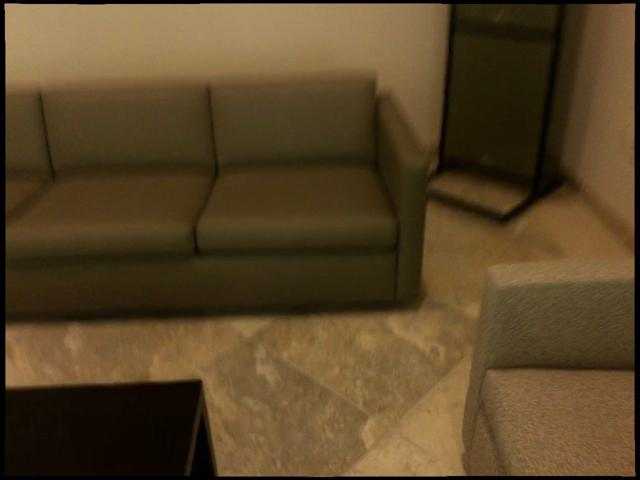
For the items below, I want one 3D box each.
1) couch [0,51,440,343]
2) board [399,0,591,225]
[{"bbox_3d":[-0.798,-0.220,2.280,2.265,0.721,0.981,-3,32,-3],"label":"couch"},{"bbox_3d":[0.808,-0.932,2.630,0.599,1.522,0.560,21,38,32],"label":"board"}]
